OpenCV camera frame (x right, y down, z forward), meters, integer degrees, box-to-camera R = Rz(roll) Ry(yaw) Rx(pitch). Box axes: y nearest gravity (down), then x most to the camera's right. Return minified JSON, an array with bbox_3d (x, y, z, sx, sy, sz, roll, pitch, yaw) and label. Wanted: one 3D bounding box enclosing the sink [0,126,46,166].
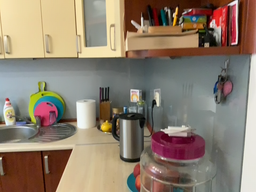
[{"bbox_3d":[-0.940,0.390,1.720,0.410,0.170,0.390,-1,10,-5],"label":"sink"}]
